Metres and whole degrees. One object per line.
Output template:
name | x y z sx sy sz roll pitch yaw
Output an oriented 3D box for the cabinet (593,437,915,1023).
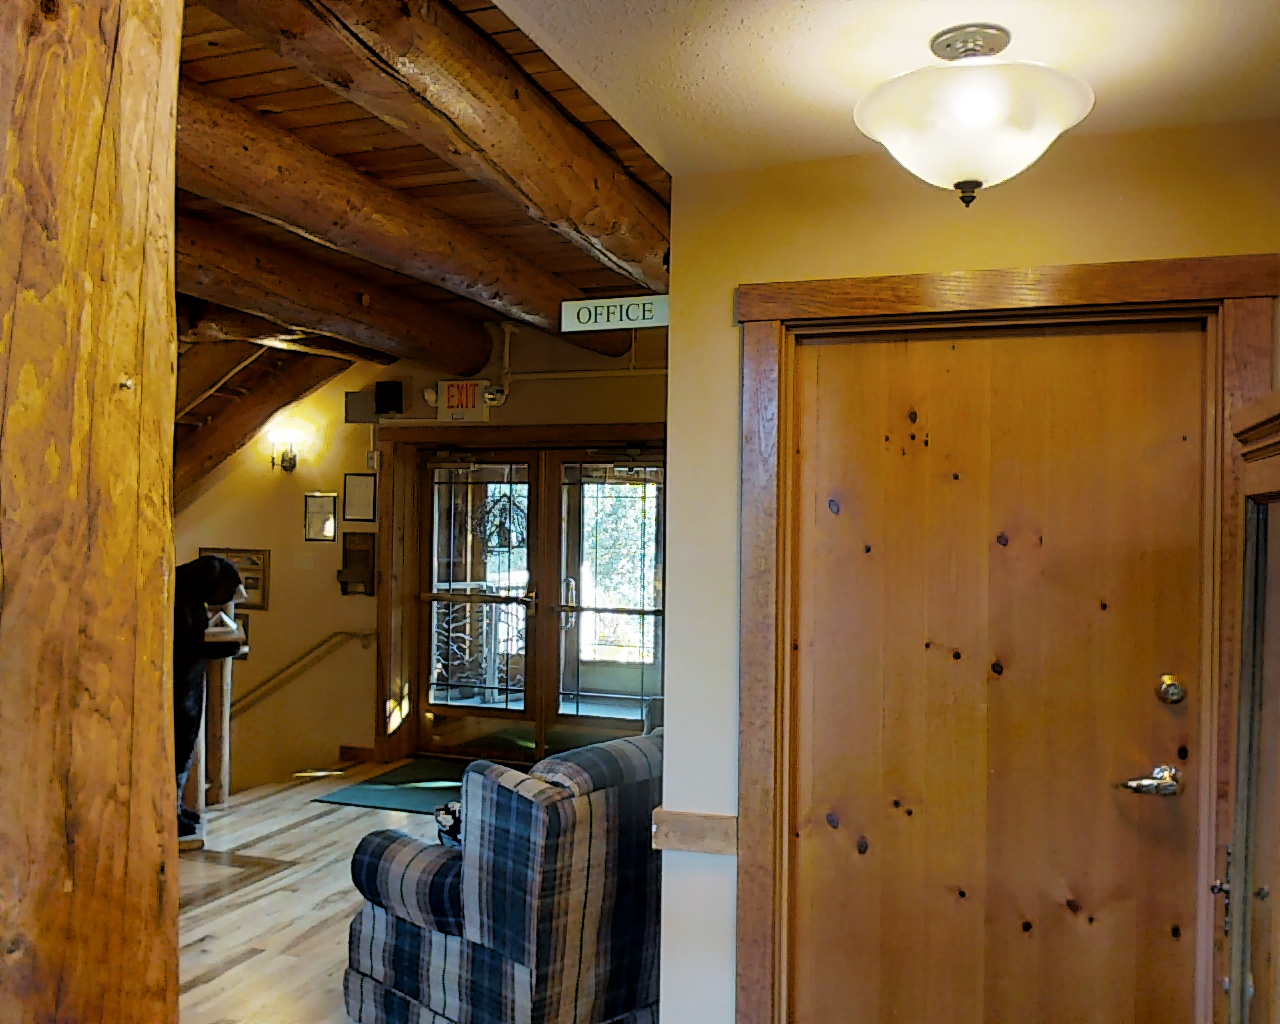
cabinet | 0.300 0.750 2.790 0.740 1.850 0.360 1 -1 20
